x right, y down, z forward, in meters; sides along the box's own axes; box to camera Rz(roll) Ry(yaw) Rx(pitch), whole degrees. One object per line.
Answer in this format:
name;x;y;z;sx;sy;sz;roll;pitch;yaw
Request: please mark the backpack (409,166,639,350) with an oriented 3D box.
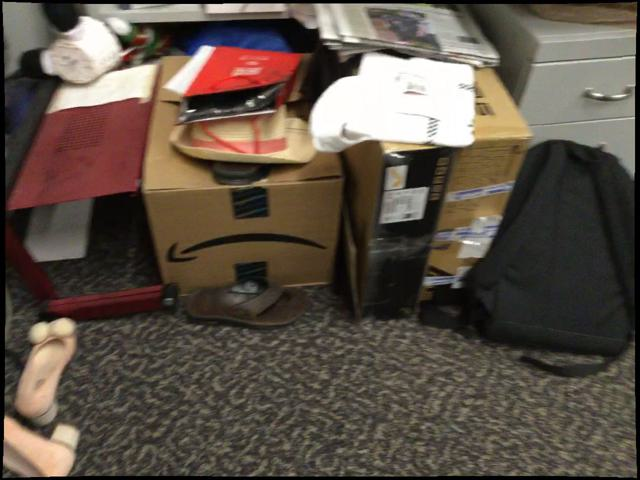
backpack;0.489;0.020;1.330;0.410;0.270;0.450;3;17;-10
